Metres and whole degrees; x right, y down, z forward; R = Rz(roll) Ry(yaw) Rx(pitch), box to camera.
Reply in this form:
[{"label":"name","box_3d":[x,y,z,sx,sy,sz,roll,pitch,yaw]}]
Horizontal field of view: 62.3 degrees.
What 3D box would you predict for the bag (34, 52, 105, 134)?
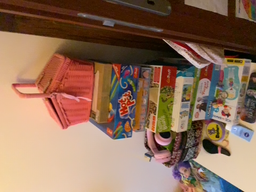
[{"label":"bag","box_3d":[-0.220,-0.020,0.770,0.170,0.190,0.250,22,109,54]}]
